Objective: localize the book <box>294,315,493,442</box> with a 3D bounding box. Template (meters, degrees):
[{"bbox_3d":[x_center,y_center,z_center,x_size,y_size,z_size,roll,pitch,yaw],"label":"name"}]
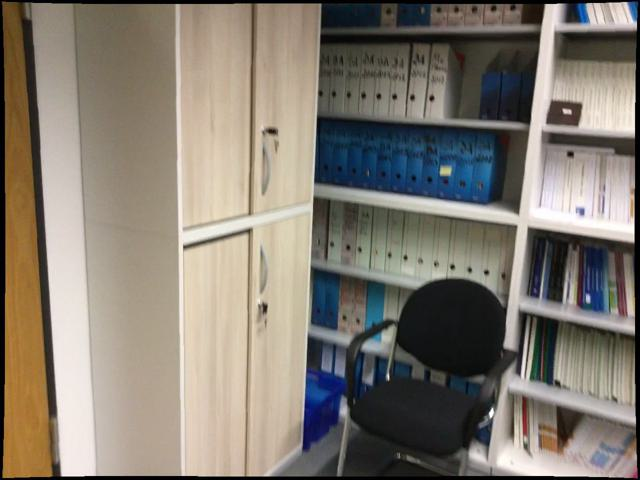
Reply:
[{"bbox_3d":[0.340,0.671,2.930,0.979,0.330,0.210,10,16,29],"label":"book"}]

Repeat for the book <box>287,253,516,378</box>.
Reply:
[{"bbox_3d":[0.340,0.330,2.760,1.089,0.350,0.140,10,16,29],"label":"book"}]

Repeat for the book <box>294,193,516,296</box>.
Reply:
[{"bbox_3d":[0.350,0.000,2.730,1.069,0.320,0.060,10,16,29],"label":"book"}]

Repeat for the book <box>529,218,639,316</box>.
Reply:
[{"bbox_3d":[1.459,0.150,2.330,1.099,0.300,0.270,10,16,29],"label":"book"}]

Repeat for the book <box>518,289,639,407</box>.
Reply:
[{"bbox_3d":[1.289,0.470,2.430,0.789,0.320,0.290,10,16,29],"label":"book"}]

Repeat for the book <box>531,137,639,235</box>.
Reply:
[{"bbox_3d":[1.459,-0.180,2.150,1.179,0.310,0.420,10,16,29],"label":"book"}]

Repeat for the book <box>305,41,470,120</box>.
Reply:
[{"bbox_3d":[0.310,-0.771,2.790,0.729,0.330,0.260,10,16,29],"label":"book"}]

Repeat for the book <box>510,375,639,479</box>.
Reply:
[{"bbox_3d":[1.289,0.841,2.430,0.889,0.280,0.160,10,16,29],"label":"book"}]

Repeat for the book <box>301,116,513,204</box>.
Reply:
[{"bbox_3d":[0.390,-0.410,2.800,0.969,0.320,0.260,10,16,29],"label":"book"}]
